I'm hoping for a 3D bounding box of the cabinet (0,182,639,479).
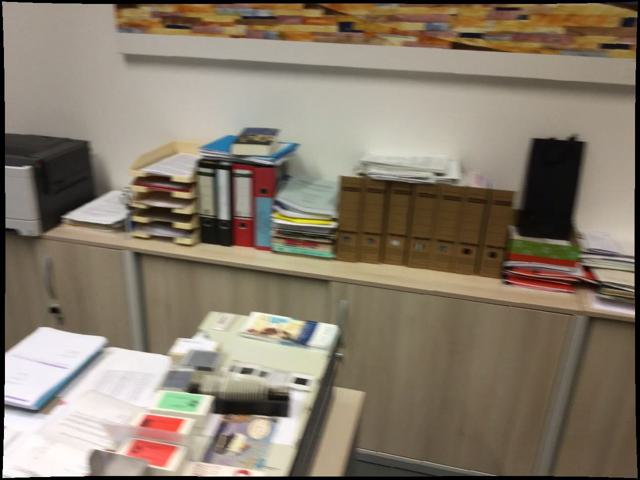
[{"bbox_3d":[0.100,0.410,2.190,3.167,0.821,0.310,8,26,12],"label":"cabinet"}]

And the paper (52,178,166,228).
[{"bbox_3d":[-0.859,-0.160,2.390,0.290,0.050,0.360,8,26,12],"label":"paper"}]

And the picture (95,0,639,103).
[{"bbox_3d":[0.160,-0.961,1.970,2.078,0.791,0.110,8,26,12],"label":"picture"}]
